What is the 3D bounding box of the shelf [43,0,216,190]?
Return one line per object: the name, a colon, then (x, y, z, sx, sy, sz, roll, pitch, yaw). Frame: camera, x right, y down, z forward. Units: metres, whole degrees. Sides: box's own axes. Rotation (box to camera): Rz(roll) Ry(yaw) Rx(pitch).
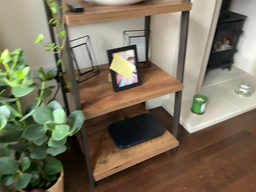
shelf: (-0.030, -0.330, 1.000, 0.600, 1.530, 0.510, -16, 38, -22)
